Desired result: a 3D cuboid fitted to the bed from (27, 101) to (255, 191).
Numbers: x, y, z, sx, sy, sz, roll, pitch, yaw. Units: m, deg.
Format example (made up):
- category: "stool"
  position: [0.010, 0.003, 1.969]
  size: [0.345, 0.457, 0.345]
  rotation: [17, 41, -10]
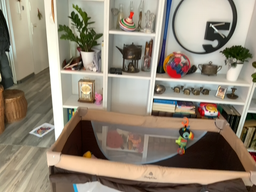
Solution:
- category: "bed"
  position: [0.130, 0.620, 1.690]
  size: [1.400, 0.790, 0.820]
  rotation: [5, 22, 1]
